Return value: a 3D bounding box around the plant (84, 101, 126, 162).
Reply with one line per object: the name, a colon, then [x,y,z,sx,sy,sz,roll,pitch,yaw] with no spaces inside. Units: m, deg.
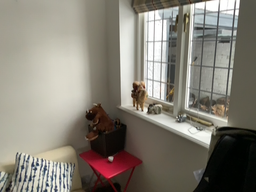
plant: [-0.210,0.300,1.920,0.240,0.410,0.330,-10,17,-32]
